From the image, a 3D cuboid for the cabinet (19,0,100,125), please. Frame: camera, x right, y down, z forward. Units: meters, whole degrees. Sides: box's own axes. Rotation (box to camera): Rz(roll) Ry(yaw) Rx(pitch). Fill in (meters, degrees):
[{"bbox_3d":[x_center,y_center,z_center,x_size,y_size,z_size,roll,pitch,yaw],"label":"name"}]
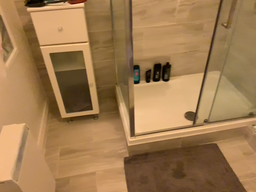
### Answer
[{"bbox_3d":[-0.510,-0.270,1.840,0.380,1.090,0.350,-8,40,-7],"label":"cabinet"}]
